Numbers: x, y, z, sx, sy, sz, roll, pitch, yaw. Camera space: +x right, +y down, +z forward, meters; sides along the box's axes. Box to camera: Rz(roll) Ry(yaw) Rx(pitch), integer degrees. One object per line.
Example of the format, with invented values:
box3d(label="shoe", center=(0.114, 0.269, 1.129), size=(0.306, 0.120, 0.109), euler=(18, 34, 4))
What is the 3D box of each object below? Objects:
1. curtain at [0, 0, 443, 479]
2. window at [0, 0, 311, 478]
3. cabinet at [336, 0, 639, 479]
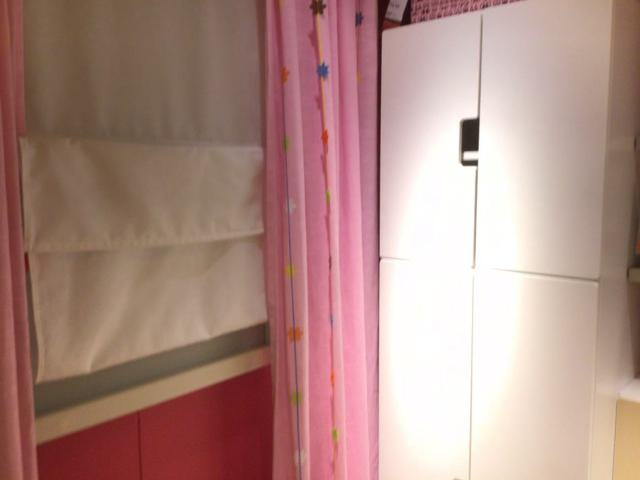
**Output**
box3d(label="curtain", center=(-0.200, 0.180, 1.350), size=(1.360, 2.300, 0.210), euler=(-7, 7, -44))
box3d(label="window", center=(-0.320, -0.170, 1.250), size=(0.640, 1.130, 0.130), euler=(-7, 7, -44))
box3d(label="cabinet", center=(0.540, 0.340, 1.660), size=(0.530, 1.900, 0.760), euler=(-7, 7, -44))
